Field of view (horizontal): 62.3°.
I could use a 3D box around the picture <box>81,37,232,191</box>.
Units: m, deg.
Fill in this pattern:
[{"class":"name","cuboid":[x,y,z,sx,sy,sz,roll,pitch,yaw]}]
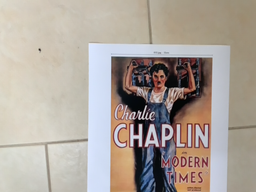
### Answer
[{"class":"picture","cuboid":[0.040,0.070,0.310,0.210,0.010,0.300,2,92,-2]}]
